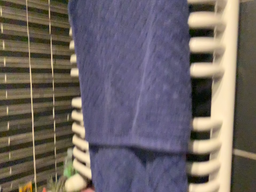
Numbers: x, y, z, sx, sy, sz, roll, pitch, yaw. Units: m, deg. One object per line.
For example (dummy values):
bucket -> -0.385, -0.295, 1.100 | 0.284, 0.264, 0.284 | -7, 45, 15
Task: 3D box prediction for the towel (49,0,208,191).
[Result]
towel -> -0.050, -0.010, 0.510 | 0.080, 0.580, 0.460 | -5, 8, -41
